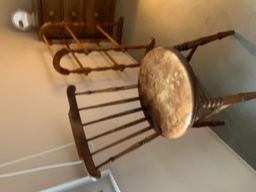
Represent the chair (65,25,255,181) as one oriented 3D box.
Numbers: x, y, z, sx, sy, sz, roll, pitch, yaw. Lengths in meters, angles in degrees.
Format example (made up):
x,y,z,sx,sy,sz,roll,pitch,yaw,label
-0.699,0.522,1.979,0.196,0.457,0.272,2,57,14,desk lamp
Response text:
x,y,z,sx,sy,sz,roll,pitch,yaw,label
0.160,0.010,1.080,0.450,0.800,0.540,66,150,25,chair
